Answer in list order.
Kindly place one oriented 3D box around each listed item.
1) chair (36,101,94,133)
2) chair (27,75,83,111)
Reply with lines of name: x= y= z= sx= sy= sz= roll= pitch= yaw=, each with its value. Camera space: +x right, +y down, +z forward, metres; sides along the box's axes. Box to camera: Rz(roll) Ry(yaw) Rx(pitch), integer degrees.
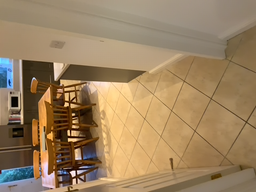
chair: x=-1.070 y=0.360 z=3.580 sx=0.500 sy=0.800 sz=0.440 roll=-22 pitch=71 yaw=55
chair: x=-1.380 y=-0.040 z=4.000 sx=0.500 sy=0.860 sz=0.550 roll=-22 pitch=72 yaw=54
